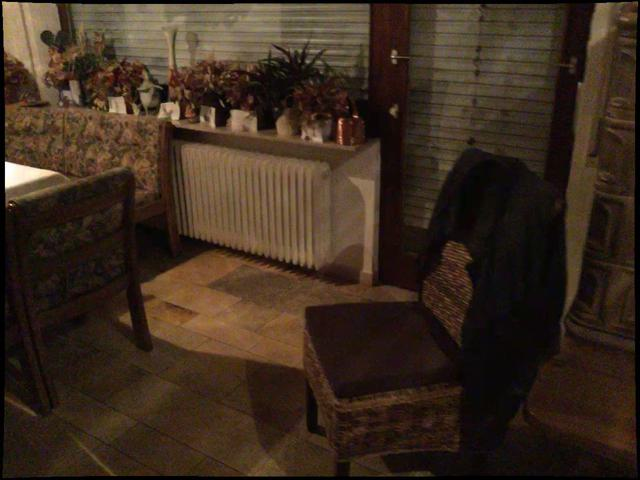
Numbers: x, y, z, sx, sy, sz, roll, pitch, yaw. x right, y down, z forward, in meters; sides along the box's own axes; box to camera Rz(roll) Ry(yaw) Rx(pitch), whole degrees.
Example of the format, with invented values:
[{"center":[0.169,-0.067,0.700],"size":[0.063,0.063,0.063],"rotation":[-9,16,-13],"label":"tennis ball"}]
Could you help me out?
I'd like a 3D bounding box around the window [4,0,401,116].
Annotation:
[{"center":[-0.829,-1.391,3.270],"size":[2.608,1.041,0.460],"rotation":[14,27,30],"label":"window"}]
